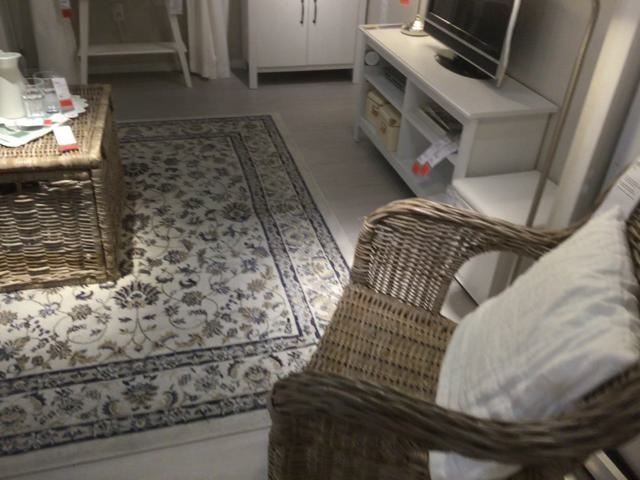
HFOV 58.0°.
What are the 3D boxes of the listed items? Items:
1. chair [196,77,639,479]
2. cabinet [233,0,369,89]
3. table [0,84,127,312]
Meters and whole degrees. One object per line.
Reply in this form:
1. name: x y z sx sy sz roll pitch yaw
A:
1. chair: 0.260 0.220 1.230 0.790 0.850 0.710 7 33 5
2. cabinet: -0.140 -1.530 3.750 0.770 0.930 0.500 -6 34 -15
3. table: -1.020 -0.190 2.120 0.520 0.520 0.730 -6 34 -15
